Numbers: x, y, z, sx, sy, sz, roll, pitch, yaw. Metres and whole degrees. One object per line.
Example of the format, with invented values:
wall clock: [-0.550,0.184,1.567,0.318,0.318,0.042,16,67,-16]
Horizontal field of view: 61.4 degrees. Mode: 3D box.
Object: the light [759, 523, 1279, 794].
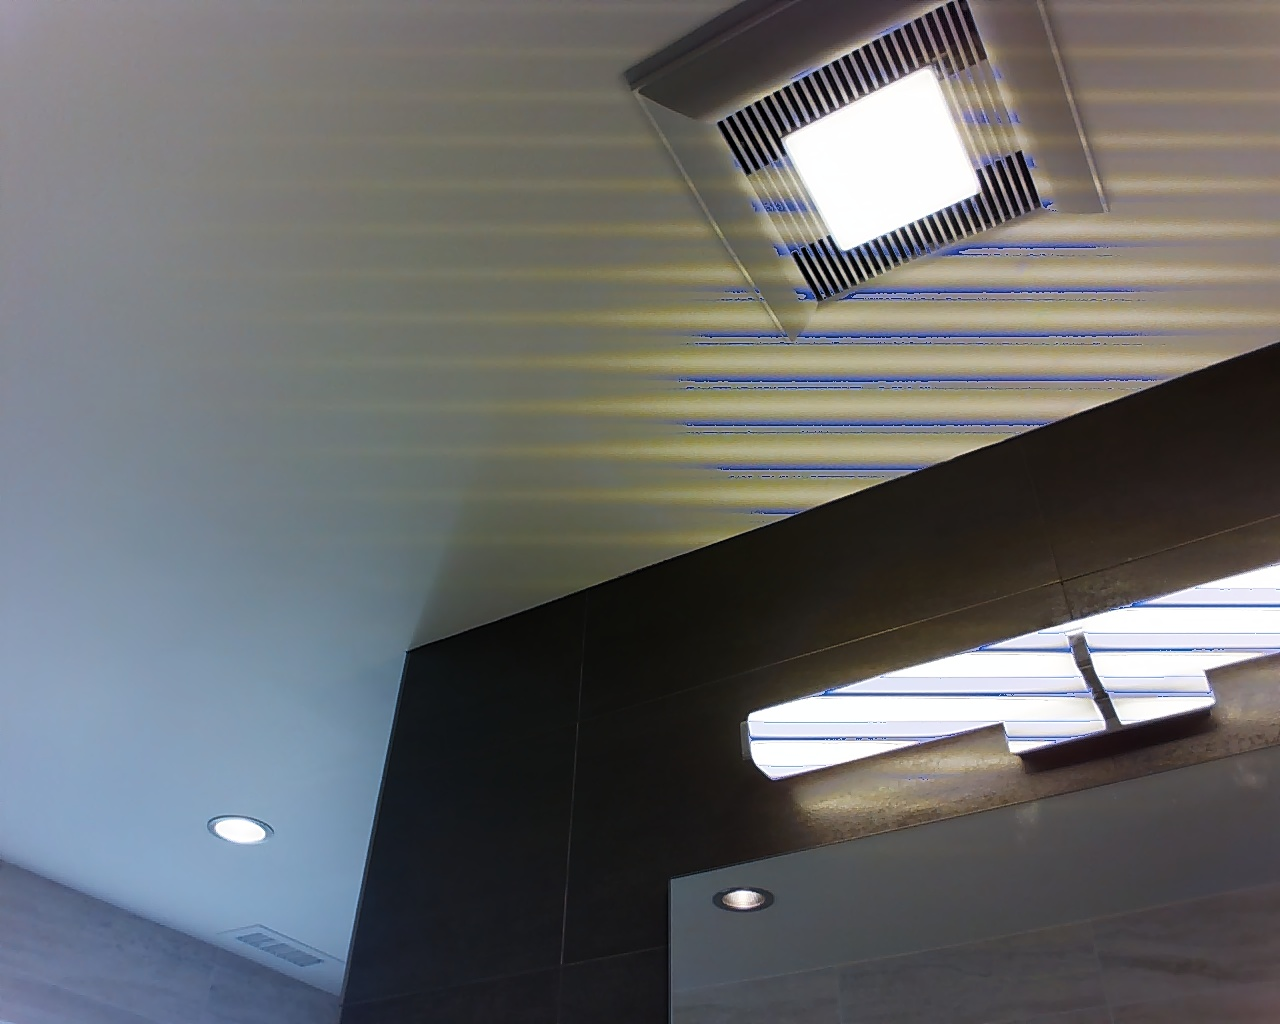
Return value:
light: [0.430,0.130,1.020,0.660,0.100,0.080,-21,-46,23]
